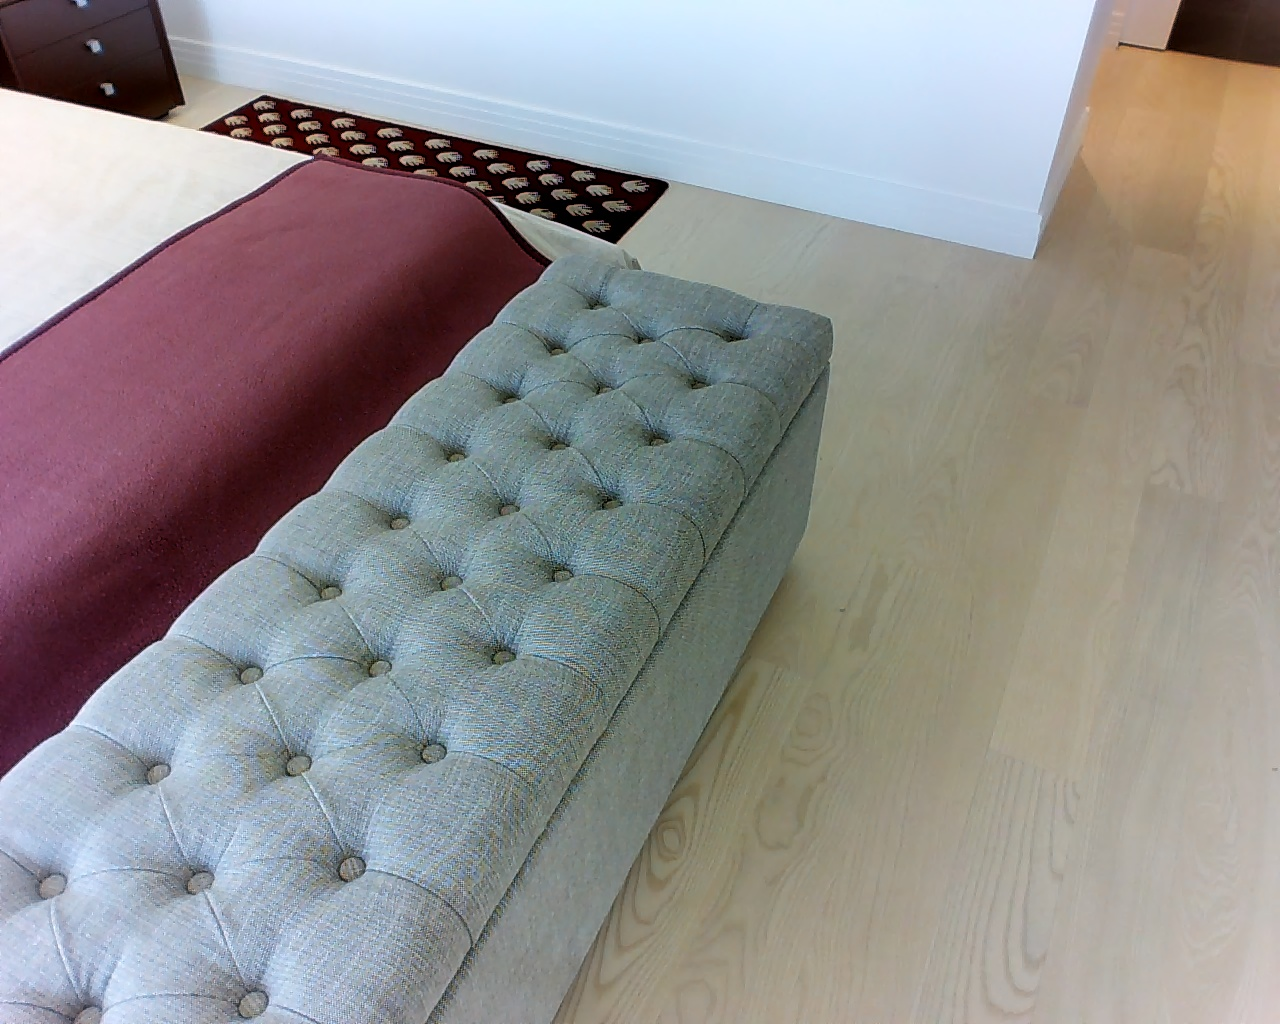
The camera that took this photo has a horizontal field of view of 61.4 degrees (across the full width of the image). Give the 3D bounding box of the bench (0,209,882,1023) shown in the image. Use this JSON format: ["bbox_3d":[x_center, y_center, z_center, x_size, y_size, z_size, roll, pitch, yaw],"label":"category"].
[{"bbox_3d":[-0.230,0.220,1.430,0.580,0.520,1.570,19,45,19],"label":"bench"}]
